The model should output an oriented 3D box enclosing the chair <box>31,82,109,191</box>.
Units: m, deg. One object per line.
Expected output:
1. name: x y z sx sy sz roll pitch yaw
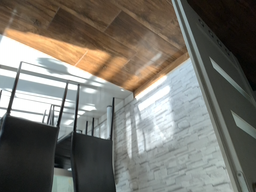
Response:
1. chair: -0.460 0.450 1.760 0.390 0.970 0.470 24 136 -34
